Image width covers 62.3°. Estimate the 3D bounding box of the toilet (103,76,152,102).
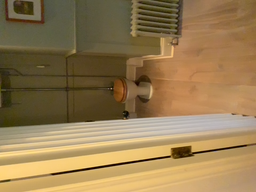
[{"bbox_3d":[-0.040,-0.130,3.360,0.750,0.520,0.360,-168,77,-67],"label":"toilet"}]
